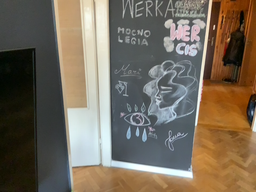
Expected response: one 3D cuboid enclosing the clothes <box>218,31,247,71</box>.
[{"bbox_3d":[2.580,-1.130,5.280,0.490,0.900,0.360,9,21,21],"label":"clothes"}]
